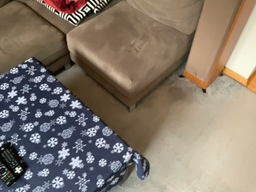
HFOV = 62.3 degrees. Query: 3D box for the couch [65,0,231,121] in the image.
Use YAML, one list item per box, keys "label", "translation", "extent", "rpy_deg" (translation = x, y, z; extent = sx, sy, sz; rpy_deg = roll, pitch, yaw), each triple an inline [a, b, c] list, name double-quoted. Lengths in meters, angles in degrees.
- label: "couch"
  translation: [0.170, -0.580, 1.600]
  extent: [0.720, 1.020, 0.940]
  rpy_deg: [39, 62, 25]
